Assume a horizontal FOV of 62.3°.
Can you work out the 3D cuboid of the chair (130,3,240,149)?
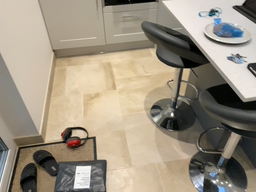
[{"bbox_3d":[0.330,-0.120,1.540,0.430,0.850,0.460,-27,49,-25],"label":"chair"}]
